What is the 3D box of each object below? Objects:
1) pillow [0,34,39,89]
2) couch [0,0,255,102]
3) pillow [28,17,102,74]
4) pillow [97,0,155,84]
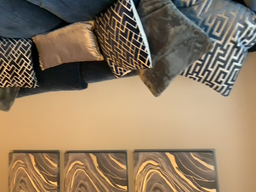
[{"bbox_3d":[-0.900,-0.260,1.570,0.380,0.400,0.130,1,149,-11],"label":"pillow"},{"bbox_3d":[-0.500,-0.480,1.420,2.630,0.740,1.160,-5,171,20],"label":"couch"},{"bbox_3d":[-0.440,-0.360,1.520,0.480,0.230,0.140,-17,139,11],"label":"pillow"},{"bbox_3d":[-0.040,-0.340,1.240,0.150,0.370,0.370,15,140,-27],"label":"pillow"}]
